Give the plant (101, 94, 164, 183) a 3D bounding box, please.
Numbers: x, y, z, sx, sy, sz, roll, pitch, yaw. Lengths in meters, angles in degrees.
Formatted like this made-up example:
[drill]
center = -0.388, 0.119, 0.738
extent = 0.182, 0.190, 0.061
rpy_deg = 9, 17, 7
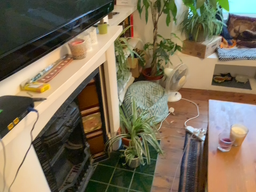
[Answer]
[plant]
center = 0.060, 0.320, 1.720
extent = 0.360, 0.440, 0.480
rpy_deg = 8, 34, 15
